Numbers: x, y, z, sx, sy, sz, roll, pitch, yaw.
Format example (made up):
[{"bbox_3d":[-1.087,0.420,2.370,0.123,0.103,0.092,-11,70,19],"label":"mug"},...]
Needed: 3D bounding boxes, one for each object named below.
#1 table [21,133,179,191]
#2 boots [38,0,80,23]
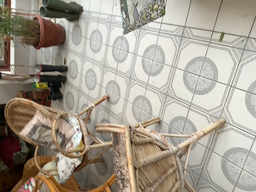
[{"bbox_3d":[-0.270,0.920,1.620,0.790,0.800,0.850,28,115,43],"label":"table"},{"bbox_3d":[-0.740,-0.930,2.280,0.260,0.350,0.210,24,112,44],"label":"boots"}]
